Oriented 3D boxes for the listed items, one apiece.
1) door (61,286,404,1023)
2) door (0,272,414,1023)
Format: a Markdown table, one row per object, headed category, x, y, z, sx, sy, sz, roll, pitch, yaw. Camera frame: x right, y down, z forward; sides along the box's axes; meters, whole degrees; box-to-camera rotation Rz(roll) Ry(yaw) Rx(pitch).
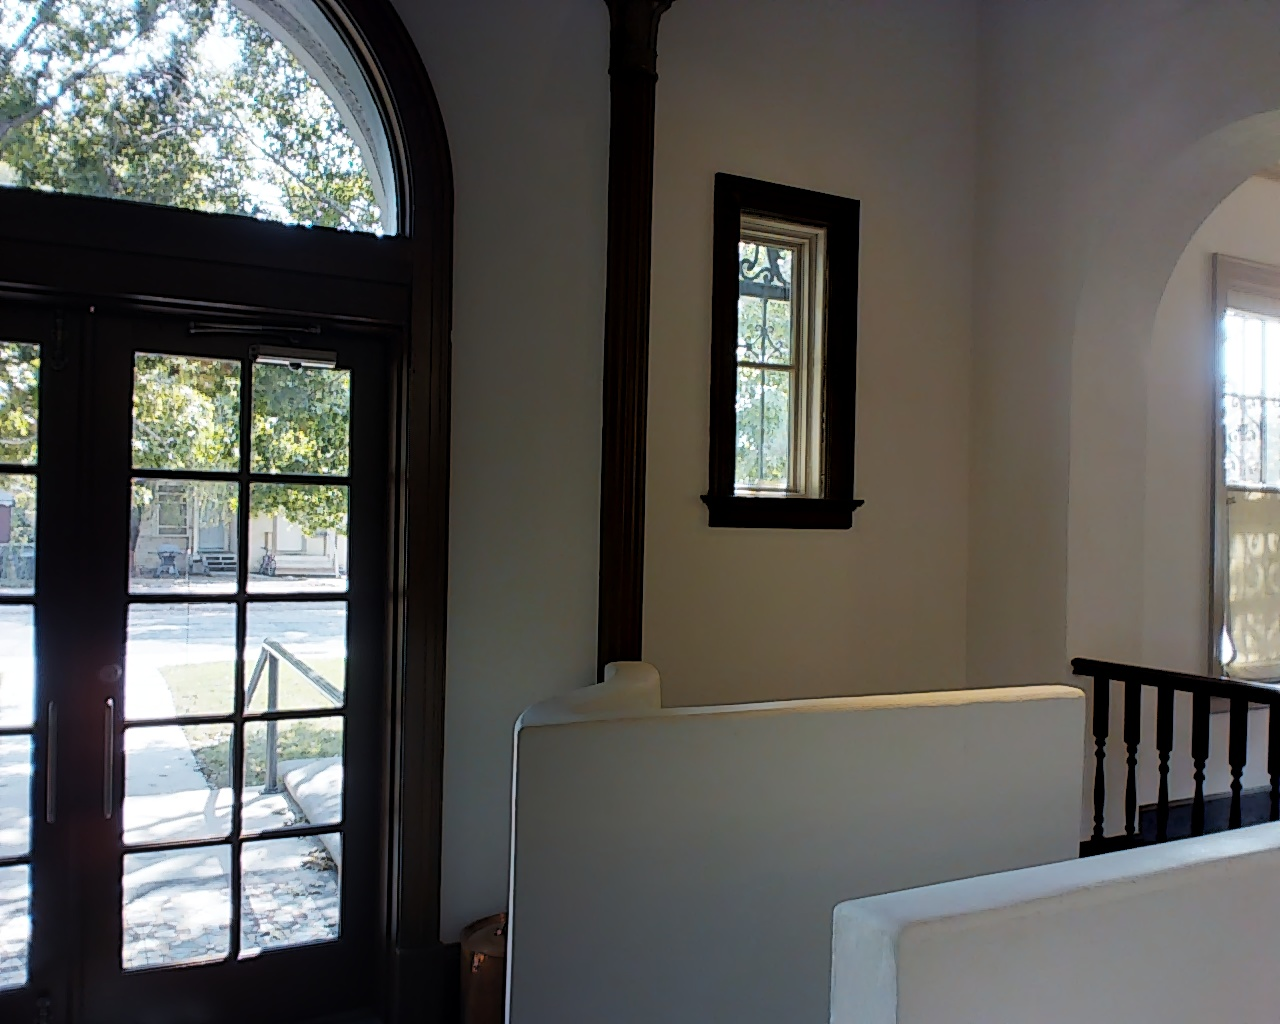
| category | x | y | z | sx | sy | sz | roll | pitch | yaw |
| --- | --- | --- | --- | --- | --- | --- | --- | --- | --- |
| door | -1.130 | 0.440 | 3.050 | 0.870 | 2.060 | 0.050 | 1 | 0 | -27 |
| door | -1.440 | 0.430 | 2.820 | 1.620 | 2.030 | 0.200 | 1 | 0 | -27 |
